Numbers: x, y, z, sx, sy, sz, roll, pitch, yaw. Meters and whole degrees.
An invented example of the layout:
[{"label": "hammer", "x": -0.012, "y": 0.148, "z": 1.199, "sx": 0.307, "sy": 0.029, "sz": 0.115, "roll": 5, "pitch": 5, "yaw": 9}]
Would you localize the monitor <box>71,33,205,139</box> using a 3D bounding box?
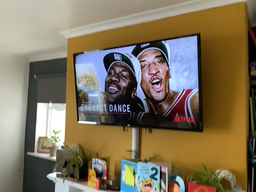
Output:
[{"label": "monitor", "x": 0.000, "y": -0.060, "z": 1.480, "sx": 1.010, "sy": 0.590, "sz": 0.070, "roll": 1, "pitch": 3, "yaw": 31}]
